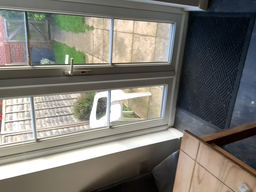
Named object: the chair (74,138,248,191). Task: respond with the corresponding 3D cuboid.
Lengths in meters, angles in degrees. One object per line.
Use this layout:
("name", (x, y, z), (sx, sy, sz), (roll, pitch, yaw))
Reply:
("chair", (0.230, 0.760, 1.650), (0.660, 1.090, 0.480), (-53, 50, 52))

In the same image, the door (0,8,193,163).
("door", (-0.350, -0.080, 1.720), (0.060, 2.080, 1.070), (33, 124, 56))
